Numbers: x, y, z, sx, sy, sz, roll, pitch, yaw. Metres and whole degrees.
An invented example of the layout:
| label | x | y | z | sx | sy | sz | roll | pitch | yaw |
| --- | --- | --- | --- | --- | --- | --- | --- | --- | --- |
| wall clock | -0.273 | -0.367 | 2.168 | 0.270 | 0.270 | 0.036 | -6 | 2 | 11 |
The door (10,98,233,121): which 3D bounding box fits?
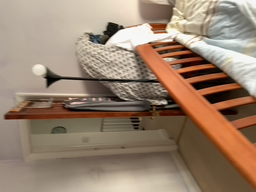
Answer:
| label | x | y | z | sx | sy | sz | roll | pitch | yaw |
| --- | --- | --- | --- | --- | --- | --- | --- | --- | --- |
| door | -0.020 | 0.110 | 2.160 | 0.770 | 1.940 | 0.050 | -152 | 63 | -73 |
